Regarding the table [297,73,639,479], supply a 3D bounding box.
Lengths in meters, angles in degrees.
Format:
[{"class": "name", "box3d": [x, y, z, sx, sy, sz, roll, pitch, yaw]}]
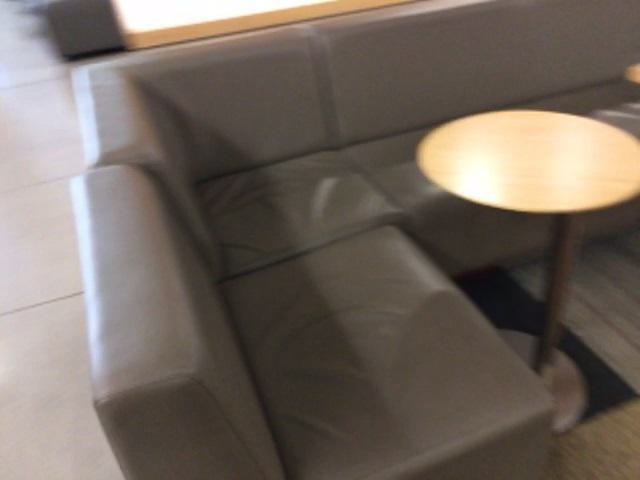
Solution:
[{"class": "table", "box3d": [0.370, 0.120, 1.410, 0.560, 0.750, 0.540, -21, 37, -4]}]
